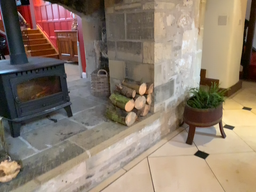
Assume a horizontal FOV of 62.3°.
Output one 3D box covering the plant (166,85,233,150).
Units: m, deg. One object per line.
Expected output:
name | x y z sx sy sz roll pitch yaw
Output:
plant | 0.940 0.230 2.790 0.760 0.510 0.510 -19 25 -41
